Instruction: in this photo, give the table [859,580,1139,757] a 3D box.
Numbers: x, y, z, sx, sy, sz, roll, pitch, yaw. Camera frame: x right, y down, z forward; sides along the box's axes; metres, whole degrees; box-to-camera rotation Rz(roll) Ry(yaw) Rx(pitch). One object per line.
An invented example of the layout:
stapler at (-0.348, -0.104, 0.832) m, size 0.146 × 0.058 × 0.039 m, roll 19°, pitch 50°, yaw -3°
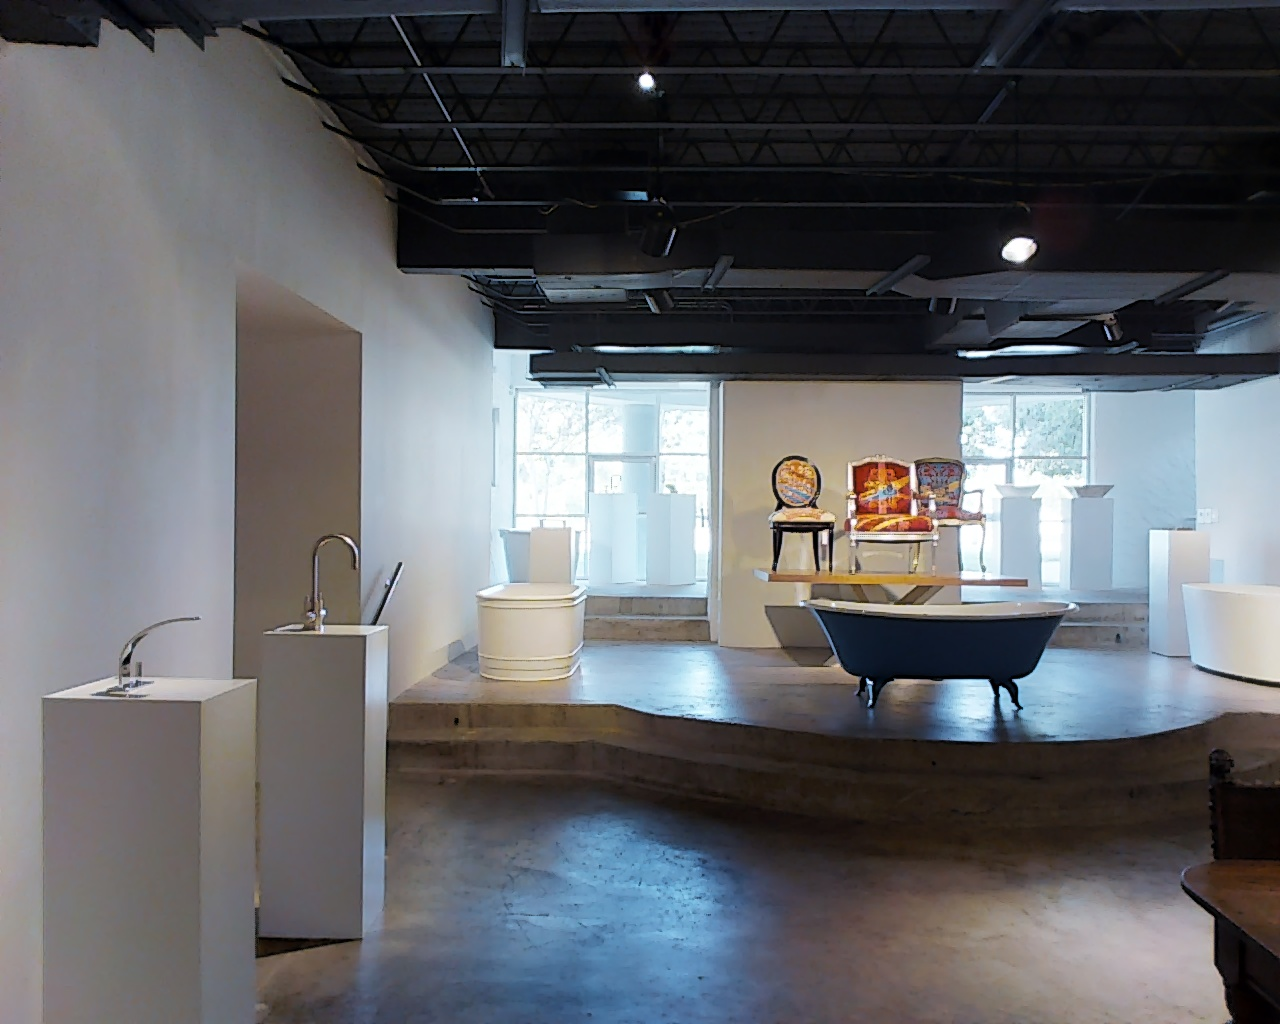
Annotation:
table at (2.290, 0.950, 7.560) m, size 0.890 × 0.710 × 3.610 m, roll 1°, pitch 0°, yaw 2°
